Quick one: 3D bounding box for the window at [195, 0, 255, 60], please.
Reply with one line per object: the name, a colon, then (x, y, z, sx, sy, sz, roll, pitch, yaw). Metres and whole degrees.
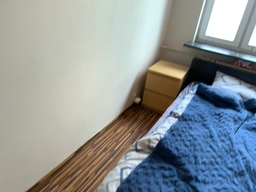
window: (1.640, -1.060, 2.300, 1.440, 1.360, 0.160, 21, 30, 22)
